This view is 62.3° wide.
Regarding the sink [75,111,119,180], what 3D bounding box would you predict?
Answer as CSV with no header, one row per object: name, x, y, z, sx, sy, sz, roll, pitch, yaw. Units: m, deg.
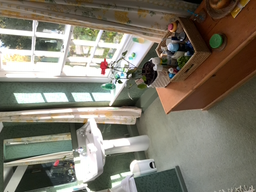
sink,-0.400,0.590,2.560,0.450,0.290,0.670,-52,47,51

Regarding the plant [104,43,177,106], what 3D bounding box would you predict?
plant,0.080,-0.160,1.700,0.350,0.400,0.330,-58,43,47
